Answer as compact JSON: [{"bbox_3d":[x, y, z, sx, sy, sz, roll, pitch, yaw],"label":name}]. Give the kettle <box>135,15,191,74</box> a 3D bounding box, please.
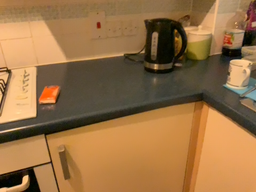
[{"bbox_3d":[0.160,-0.260,1.040,0.210,0.230,0.160,-11,29,-18],"label":"kettle"}]
